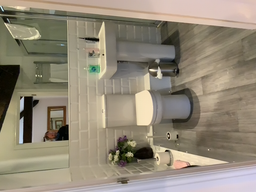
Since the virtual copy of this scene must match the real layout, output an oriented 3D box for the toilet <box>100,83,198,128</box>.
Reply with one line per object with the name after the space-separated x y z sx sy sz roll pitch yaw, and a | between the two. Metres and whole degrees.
0.170 0.120 2.220 0.650 0.810 0.370 152 116 -71 | toilet
